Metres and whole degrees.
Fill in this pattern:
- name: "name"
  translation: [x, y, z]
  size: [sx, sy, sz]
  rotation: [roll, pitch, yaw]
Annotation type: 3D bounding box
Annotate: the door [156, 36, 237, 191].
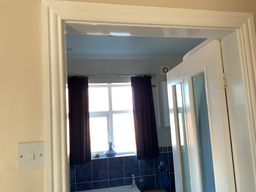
- name: "door"
  translation: [0.420, 0.740, 1.400]
  size: [0.100, 2.020, 0.830]
  rotation: [-2, -6, -10]
